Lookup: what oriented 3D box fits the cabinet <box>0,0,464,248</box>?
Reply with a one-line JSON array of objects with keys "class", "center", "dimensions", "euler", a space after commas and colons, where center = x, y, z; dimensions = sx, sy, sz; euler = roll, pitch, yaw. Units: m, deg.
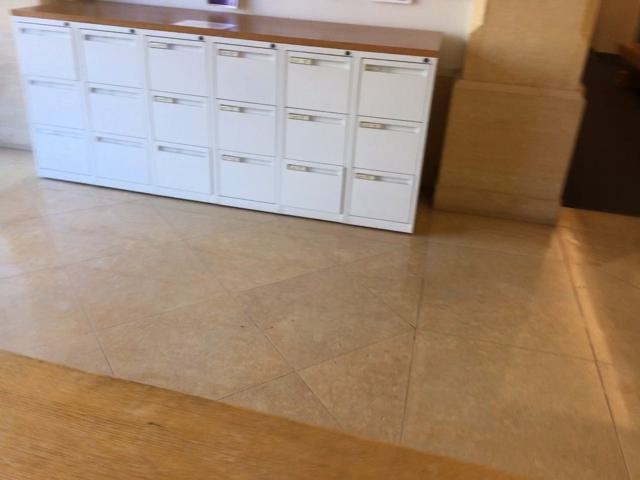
[{"class": "cabinet", "center": [-0.500, -0.780, 3.330], "dimensions": [2.400, 1.030, 0.740], "euler": [10, 27, 8]}]
